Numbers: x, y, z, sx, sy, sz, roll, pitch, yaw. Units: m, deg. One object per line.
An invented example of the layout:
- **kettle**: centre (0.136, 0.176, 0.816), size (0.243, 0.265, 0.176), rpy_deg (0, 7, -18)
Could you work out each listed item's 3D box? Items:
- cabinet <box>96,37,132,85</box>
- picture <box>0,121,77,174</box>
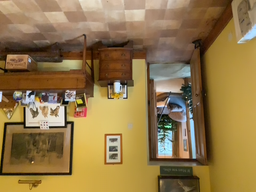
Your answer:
- **cabinet**: centre (-0.210, -0.550, 3.450), size (0.530, 0.660, 0.430), rpy_deg (-1, 169, 2)
- **picture**: centre (-1.470, 0.830, 3.440), size (1.240, 0.810, 0.090), rpy_deg (-1, 169, 1)
